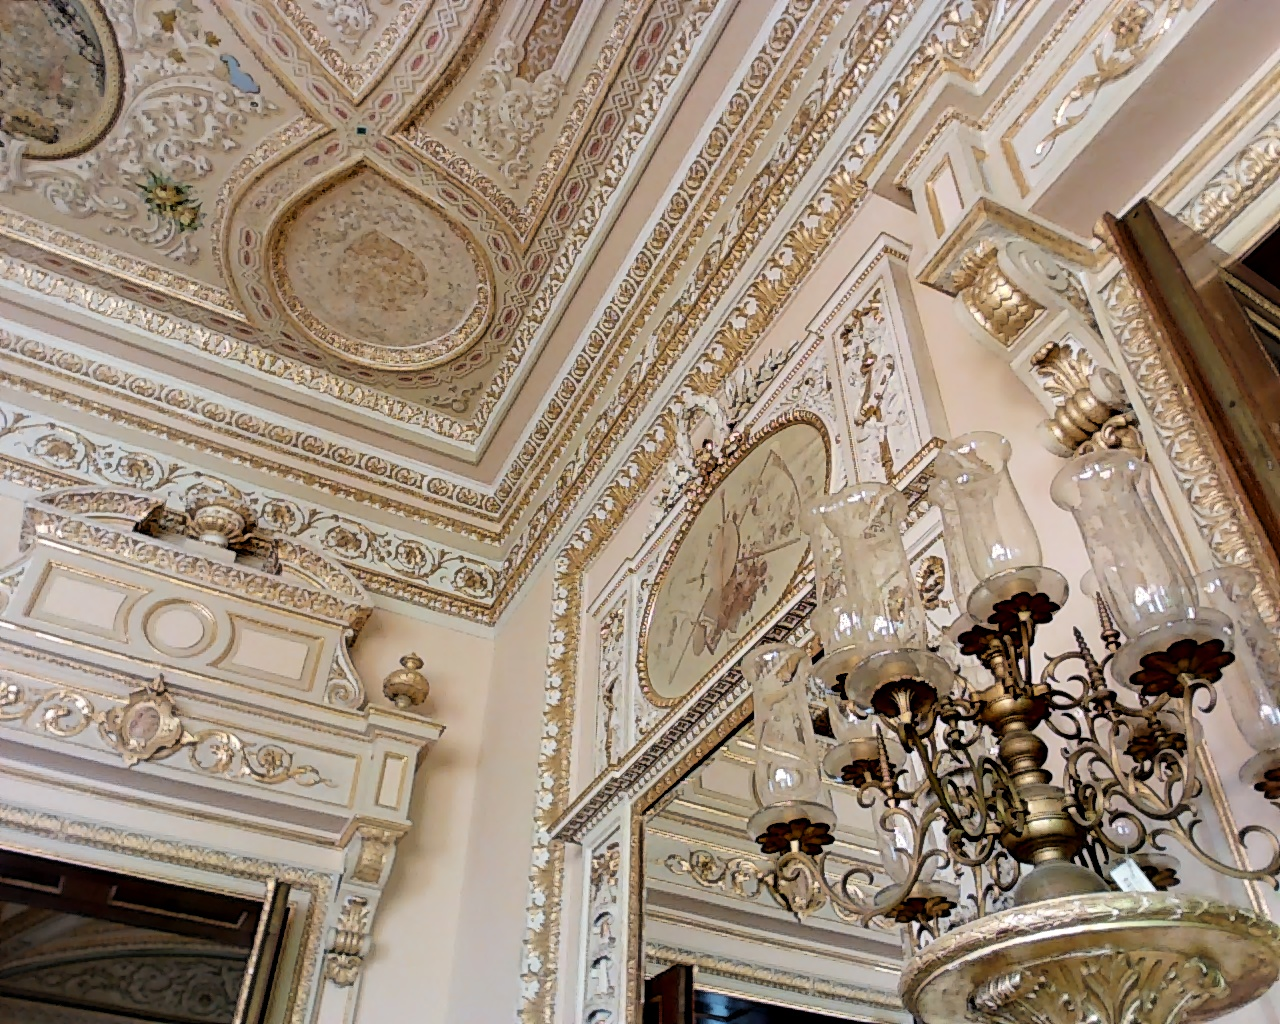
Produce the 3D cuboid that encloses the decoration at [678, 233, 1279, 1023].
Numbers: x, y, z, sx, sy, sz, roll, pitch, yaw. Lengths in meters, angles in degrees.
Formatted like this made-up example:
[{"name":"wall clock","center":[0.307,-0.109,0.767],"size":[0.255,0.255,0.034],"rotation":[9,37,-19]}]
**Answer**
[{"name":"decoration","center":[0.430,1.031,0.720],"size":[0.510,2.831,0.780],"rotation":[19,-44,-18]}]
